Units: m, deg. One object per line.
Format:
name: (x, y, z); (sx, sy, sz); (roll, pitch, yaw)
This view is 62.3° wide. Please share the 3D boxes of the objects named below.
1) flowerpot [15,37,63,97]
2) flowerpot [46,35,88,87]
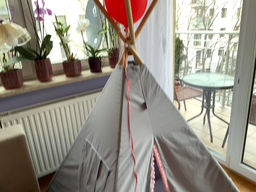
flowerpot: (-0.750, -0.260, 1.790); (0.250, 0.430, 0.300); (-14, 23, -28)
flowerpot: (-0.550, -0.330, 1.910); (0.250, 0.400, 0.260); (-14, 23, -29)
